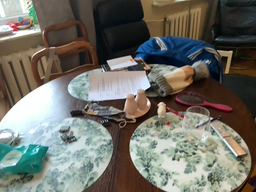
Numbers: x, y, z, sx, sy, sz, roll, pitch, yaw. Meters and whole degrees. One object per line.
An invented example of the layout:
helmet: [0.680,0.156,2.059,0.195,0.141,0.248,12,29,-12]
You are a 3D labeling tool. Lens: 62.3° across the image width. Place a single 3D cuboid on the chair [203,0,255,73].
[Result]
chair: [1.520,-0.920,2.990,0.670,0.940,0.620,11,34,22]
